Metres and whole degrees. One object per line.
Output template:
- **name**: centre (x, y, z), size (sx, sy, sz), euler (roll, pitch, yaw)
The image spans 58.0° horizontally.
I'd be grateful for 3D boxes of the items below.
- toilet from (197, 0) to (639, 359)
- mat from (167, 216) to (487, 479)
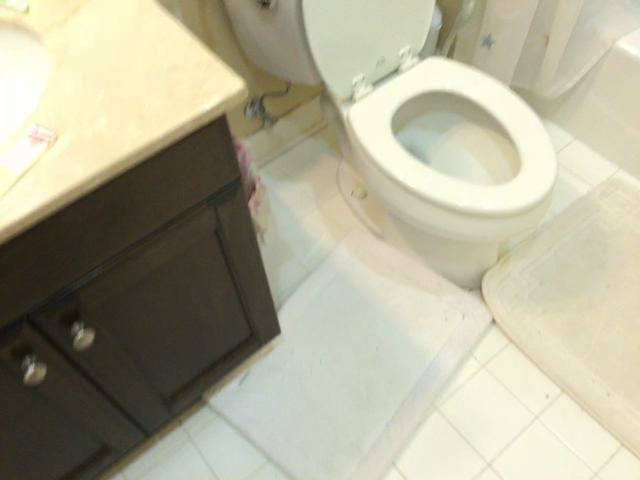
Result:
- **toilet**: centre (0.180, -0.320, 1.240), size (0.490, 0.810, 0.750), euler (-36, 60, -17)
- **mat**: centre (0.020, 0.260, 1.320), size (0.480, 0.080, 0.540), euler (33, 66, 25)
